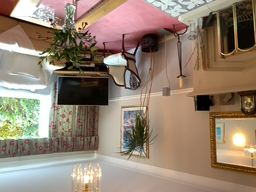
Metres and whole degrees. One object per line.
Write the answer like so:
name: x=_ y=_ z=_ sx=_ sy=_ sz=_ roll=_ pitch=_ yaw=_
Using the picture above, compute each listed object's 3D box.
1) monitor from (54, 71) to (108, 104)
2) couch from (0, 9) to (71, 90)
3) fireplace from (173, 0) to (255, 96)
monitor: x=-0.990 y=-0.180 z=4.540 sx=1.100 sy=0.660 sz=0.050 roll=2 pitch=173 yaw=-6
couch: x=-1.920 y=-0.680 z=3.380 sx=1.660 sy=0.930 sz=0.990 roll=5 pitch=172 yaw=-39
fireplace: x=1.430 y=-0.670 z=2.670 sx=0.630 sy=1.160 sz=1.580 roll=6 pitch=171 yaw=-42
